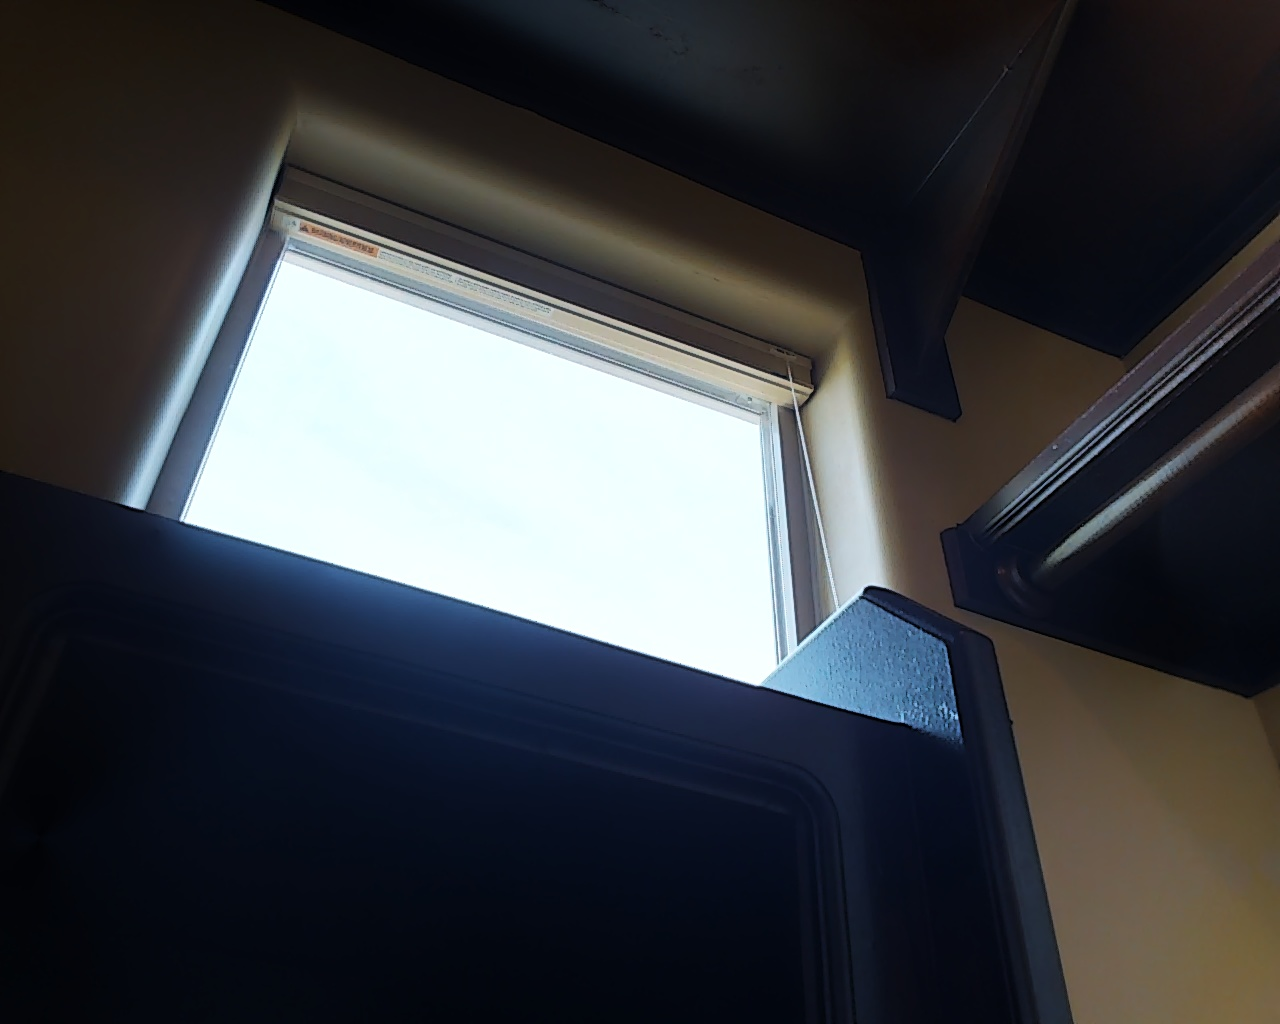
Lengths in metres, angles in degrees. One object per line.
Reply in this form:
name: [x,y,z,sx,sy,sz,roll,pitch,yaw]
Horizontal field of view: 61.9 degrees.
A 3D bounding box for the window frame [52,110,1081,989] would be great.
window frame: [-0.030,0.030,0.960,0.710,0.600,0.220,17,-42,-17]
